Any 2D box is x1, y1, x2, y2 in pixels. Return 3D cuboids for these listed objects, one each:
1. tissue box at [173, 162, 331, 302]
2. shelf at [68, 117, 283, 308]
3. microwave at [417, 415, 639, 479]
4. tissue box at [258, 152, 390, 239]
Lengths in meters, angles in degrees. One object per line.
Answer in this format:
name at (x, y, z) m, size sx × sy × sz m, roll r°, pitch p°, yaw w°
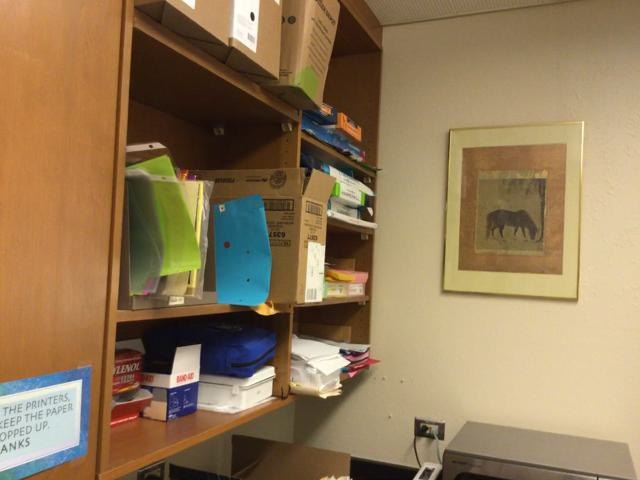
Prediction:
tissue box at (-0.180, -0.010, 1.540) m, size 0.380 × 0.340 × 0.160 m, roll -1°, pitch -6°, yaw 23°
shelf at (-0.270, -0.030, 1.170) m, size 0.250 × 0.320 × 0.350 m, roll -1°, pitch -6°, yaw 23°
microwave at (0.660, 0.780, 1.750) m, size 0.630 × 0.340 × 0.470 m, roll -1°, pitch -6°, yaw 23°
tissue box at (0.040, -0.130, 2.000) m, size 0.250 × 0.200 × 0.580 m, roll -1°, pitch -6°, yaw 23°
